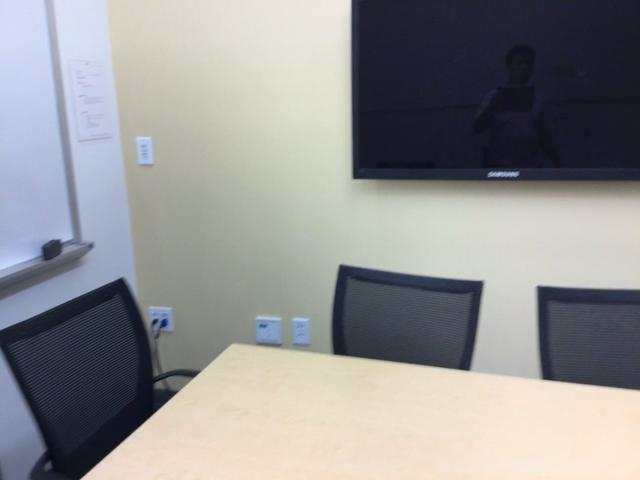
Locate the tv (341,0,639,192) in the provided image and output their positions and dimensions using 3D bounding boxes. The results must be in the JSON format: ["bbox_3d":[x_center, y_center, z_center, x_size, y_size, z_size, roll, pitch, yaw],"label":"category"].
[{"bbox_3d":[0.650,-0.520,1.920,1.140,0.690,0.180,2,12,16],"label":"tv"}]
